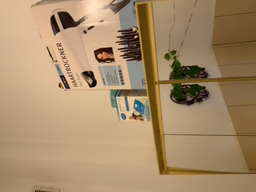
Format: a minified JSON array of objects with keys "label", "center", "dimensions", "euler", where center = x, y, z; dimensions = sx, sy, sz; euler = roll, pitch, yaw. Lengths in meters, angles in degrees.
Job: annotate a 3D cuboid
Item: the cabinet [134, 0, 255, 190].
[{"label":"cabinet","center":[0.280,0.030,0.620],"dimensions":[0.150,0.410,0.700],"euler":[-75,-20,-46]}]
